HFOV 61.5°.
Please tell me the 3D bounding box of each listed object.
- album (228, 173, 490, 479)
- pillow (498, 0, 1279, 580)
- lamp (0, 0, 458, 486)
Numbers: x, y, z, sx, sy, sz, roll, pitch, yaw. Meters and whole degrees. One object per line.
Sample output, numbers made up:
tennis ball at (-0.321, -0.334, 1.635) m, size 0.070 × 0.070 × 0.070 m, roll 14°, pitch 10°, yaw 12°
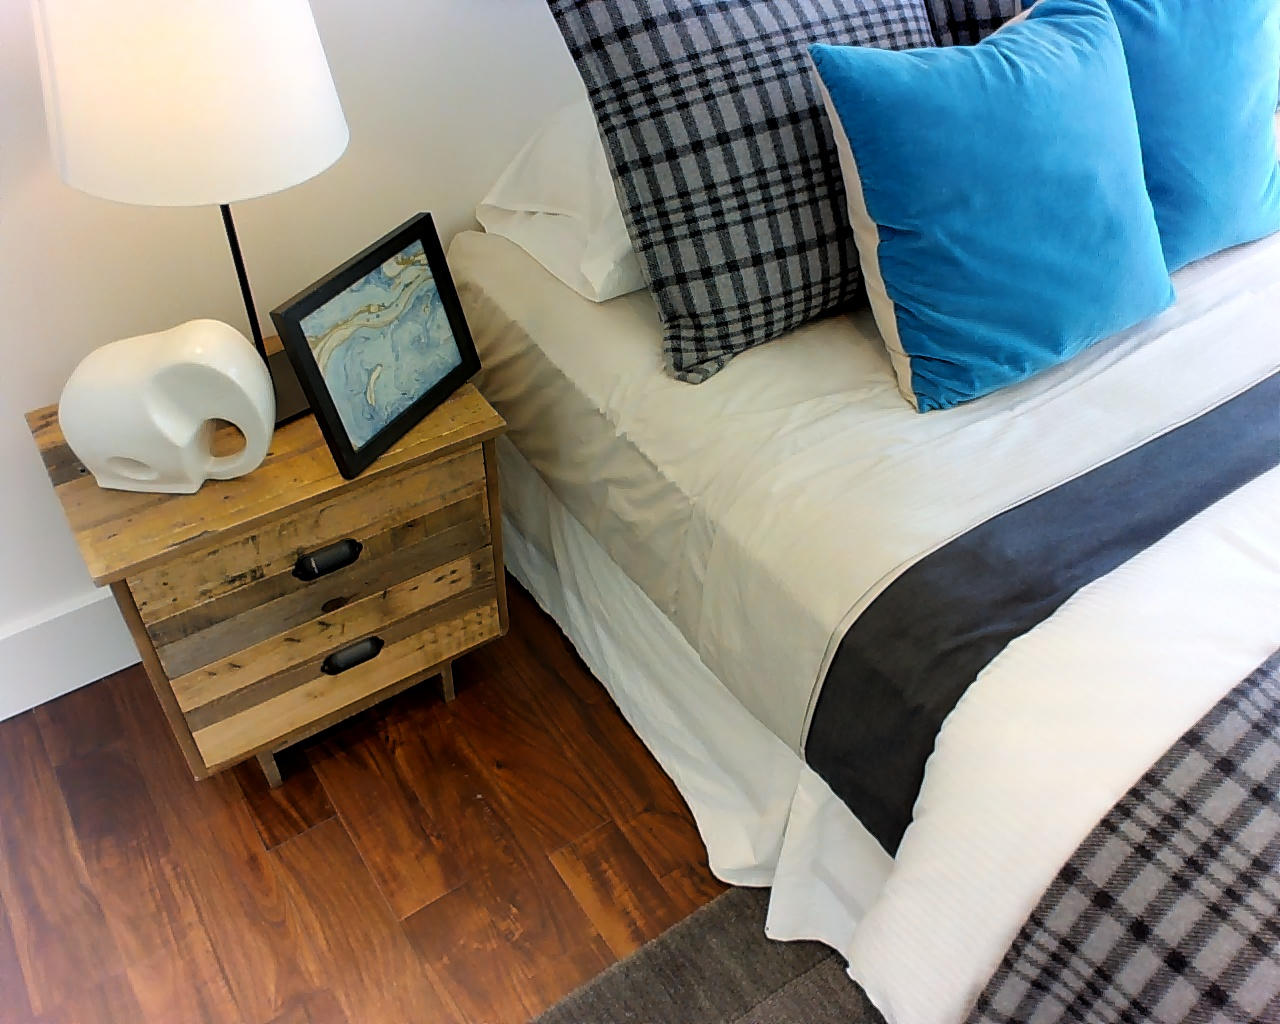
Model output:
album at (-0.360, -0.250, 1.450) m, size 0.080 × 0.260 × 0.310 m, roll 20°, pitch 59°, yaw 27°
pillow at (0.580, -0.660, 1.650) m, size 1.350 × 0.700 × 0.530 m, roll -42°, pitch 53°, yaw -3°
lamp at (-0.510, -0.410, 1.350) m, size 0.380 × 0.550 × 0.370 m, roll -24°, pitch 48°, yaw -25°
